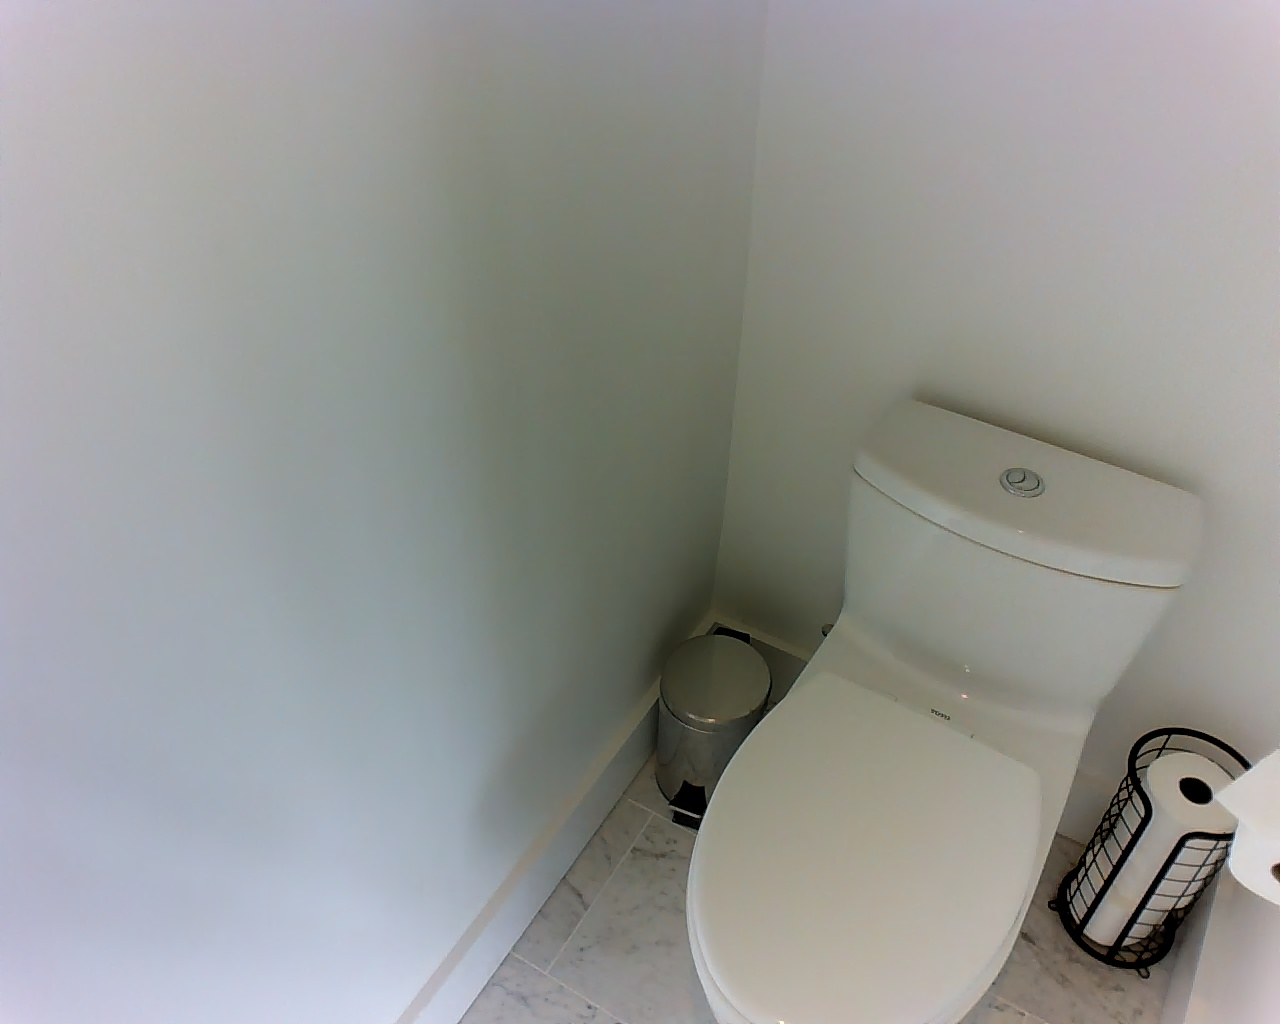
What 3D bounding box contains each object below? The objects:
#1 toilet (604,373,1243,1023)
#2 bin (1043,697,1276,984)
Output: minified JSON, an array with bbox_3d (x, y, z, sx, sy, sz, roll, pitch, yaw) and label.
[{"bbox_3d":[0.330,0.380,1.350,0.420,0.750,0.740,22,46,22],"label":"toilet"},{"bbox_3d":[0.730,0.470,1.530,0.170,0.340,0.190,22,46,22],"label":"bin"}]
